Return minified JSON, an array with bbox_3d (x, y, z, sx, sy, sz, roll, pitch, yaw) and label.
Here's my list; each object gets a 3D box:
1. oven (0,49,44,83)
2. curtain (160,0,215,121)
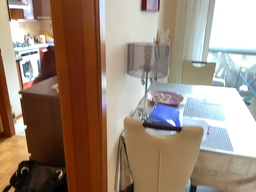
[{"bbox_3d":[-2.080,-0.610,4.200,0.470,0.500,0.730,2,21,1],"label":"oven"},{"bbox_3d":[0.830,-0.920,2.910,0.540,2.550,0.380,7,21,15],"label":"curtain"}]
